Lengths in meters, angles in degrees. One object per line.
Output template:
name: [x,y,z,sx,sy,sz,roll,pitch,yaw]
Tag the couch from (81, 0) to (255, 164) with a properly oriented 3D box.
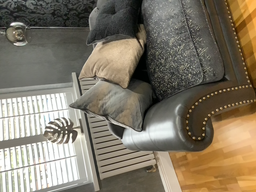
couch: [0.240,-0.340,1.720,1.090,0.820,1.500,147,114,-64]
